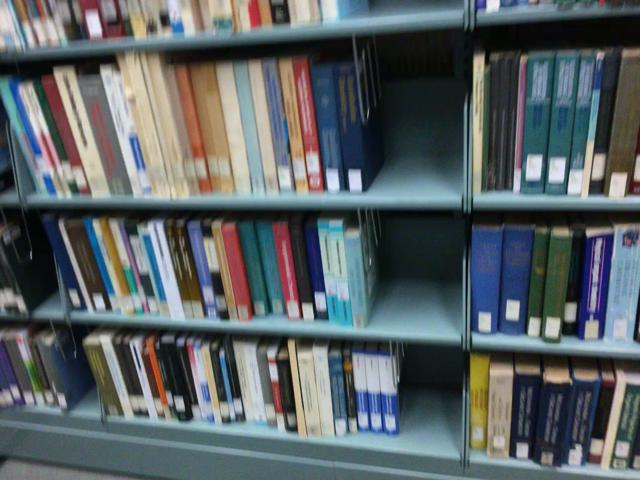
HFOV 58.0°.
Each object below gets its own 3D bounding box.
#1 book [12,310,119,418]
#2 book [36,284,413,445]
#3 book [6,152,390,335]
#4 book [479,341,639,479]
[{"bbox_3d":[-0.670,0.330,1.540,0.140,0.250,0.130,-3,25,16],"label":"book"},{"bbox_3d":[-0.230,0.310,1.460,0.880,0.300,0.210,-3,25,16],"label":"book"},{"bbox_3d":[-0.260,0.020,1.310,0.780,0.310,0.210,-3,25,16],"label":"book"},{"bbox_3d":[0.720,0.390,1.160,0.750,0.390,0.090,-3,25,16],"label":"book"}]
